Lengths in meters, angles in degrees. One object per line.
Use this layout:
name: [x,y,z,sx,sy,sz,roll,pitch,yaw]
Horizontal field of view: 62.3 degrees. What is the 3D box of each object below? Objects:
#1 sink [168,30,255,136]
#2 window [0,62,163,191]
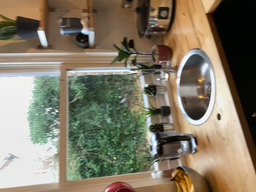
sink: [0.470,-0.050,1.300,0.480,0.210,0.470,114,152,-64]
window: [-0.490,0.180,1.510,0.060,1.370,0.940,114,151,-65]
